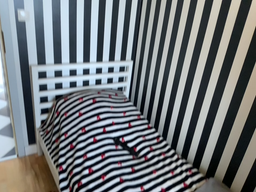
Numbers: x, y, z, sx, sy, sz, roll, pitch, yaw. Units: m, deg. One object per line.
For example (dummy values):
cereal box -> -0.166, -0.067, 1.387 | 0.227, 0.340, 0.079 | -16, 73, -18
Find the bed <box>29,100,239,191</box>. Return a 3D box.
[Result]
bed -> 0.070, 0.740, 1.510 | 1.020, 0.430, 2.110 | -9, 29, -32
